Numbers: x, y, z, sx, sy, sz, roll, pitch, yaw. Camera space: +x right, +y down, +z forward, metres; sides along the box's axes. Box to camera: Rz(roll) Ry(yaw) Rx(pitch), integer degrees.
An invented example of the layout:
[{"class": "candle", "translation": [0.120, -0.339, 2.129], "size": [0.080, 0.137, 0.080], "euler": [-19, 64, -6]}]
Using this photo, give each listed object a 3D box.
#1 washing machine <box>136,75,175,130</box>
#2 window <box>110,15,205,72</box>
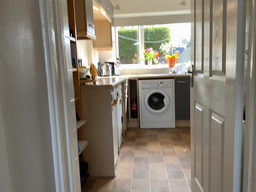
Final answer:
[{"class": "washing machine", "translation": [0.480, 0.080, 3.770], "size": [0.610, 0.850, 0.680], "euler": [-2, 8, 5]}, {"class": "window", "translation": [0.560, -0.990, 4.140], "size": [1.760, 0.970, 0.180], "euler": [-1, 8, 7]}]
